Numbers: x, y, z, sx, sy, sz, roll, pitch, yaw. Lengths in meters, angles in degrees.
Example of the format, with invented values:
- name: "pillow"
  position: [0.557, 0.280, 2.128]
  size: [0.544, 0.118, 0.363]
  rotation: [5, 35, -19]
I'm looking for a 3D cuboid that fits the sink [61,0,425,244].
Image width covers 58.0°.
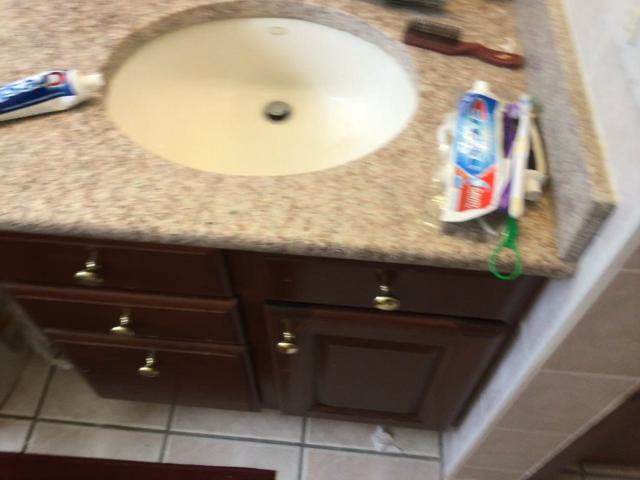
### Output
- name: "sink"
  position: [-0.080, -0.200, 0.850]
  size: [0.430, 0.190, 0.330]
  rotation: [4, 55, 2]
